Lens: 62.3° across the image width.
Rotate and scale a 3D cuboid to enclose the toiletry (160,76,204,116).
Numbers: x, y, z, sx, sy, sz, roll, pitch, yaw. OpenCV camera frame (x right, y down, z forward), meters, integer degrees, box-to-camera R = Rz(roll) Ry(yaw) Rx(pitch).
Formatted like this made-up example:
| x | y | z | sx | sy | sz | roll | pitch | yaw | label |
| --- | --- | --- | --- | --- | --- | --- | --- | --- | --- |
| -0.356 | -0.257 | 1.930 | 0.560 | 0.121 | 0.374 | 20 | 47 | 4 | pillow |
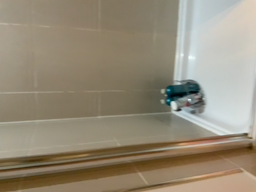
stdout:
| x | y | z | sx | sy | sz | roll | pitch | yaw | label |
| --- | --- | --- | --- | --- | --- | --- | --- | --- | --- |
| 0.380 | -0.010 | 1.540 | 0.230 | 0.200 | 0.240 | -149 | 60 | -68 | toiletry |
